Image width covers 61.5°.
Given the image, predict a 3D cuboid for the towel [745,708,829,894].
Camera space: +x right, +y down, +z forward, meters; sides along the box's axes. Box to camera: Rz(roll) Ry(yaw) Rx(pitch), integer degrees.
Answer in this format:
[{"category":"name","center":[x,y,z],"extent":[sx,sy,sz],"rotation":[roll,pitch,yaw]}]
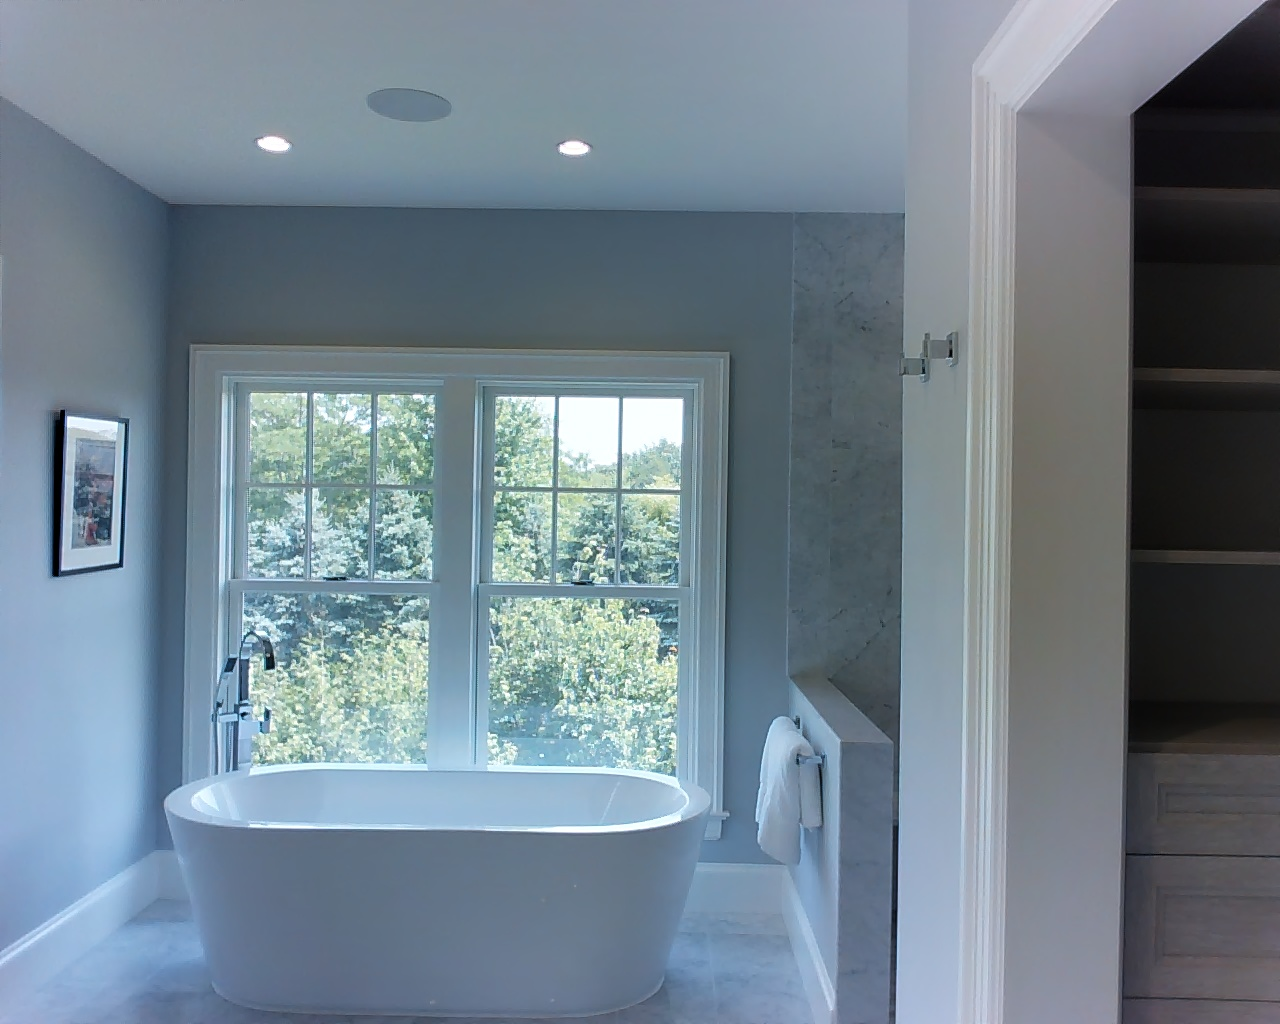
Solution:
[{"category":"towel","center":[0.480,0.940,3.610],"extent":[0.190,0.450,0.660],"rotation":[1,-1,0]}]

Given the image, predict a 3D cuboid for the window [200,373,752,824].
[{"category":"window","center":[-0.630,0.330,4.260],"extent":[2.090,1.690,0.260],"rotation":[1,-1,1]}]
